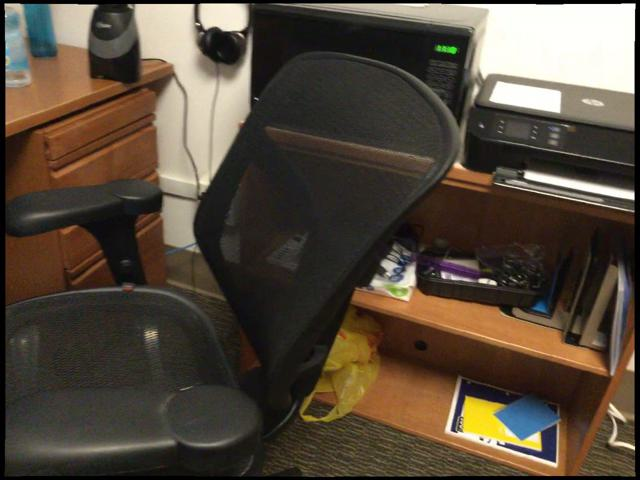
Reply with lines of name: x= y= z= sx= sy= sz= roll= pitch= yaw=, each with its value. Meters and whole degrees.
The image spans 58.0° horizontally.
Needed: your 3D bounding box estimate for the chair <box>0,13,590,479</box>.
chair: x=-0.269 y=0.240 z=0.940 sx=0.839 sy=1.002 sz=0.750 roll=-19 pitch=38 yaw=-36
